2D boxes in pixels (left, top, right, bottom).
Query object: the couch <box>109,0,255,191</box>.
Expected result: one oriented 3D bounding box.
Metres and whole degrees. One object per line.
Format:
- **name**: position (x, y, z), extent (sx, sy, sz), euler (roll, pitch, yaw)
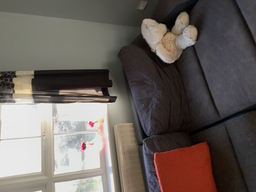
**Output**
- **couch**: position (0.570, 0.480, 1.640), extent (1.070, 0.810, 2.830), euler (131, 133, -59)
